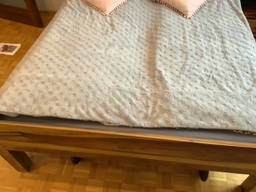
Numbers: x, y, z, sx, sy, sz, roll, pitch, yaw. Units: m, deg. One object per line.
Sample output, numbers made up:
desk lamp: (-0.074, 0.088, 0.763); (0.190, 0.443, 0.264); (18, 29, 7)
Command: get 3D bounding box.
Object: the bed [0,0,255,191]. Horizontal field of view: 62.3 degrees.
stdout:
bed: (0.120, -0.440, 1.950); (1.720, 0.650, 2.350); (5, 49, 6)
